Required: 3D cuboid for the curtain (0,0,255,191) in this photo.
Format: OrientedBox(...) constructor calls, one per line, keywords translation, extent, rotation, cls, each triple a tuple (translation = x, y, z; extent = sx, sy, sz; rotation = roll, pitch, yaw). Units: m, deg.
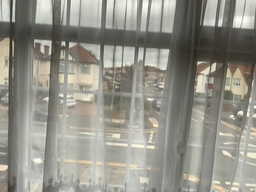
OrientedBox(translation=(-0.460, -0.020, 0.980), extent=(2.650, 1.530, 0.260), rotation=(4, 6, -1), cls="curtain")
